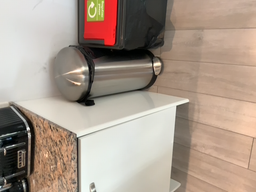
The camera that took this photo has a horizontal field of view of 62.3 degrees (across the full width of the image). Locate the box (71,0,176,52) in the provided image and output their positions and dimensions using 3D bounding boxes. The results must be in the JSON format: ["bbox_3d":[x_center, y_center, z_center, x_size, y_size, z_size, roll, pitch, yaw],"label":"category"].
[{"bbox_3d":[-0.020,-0.550,1.300,0.410,0.480,0.500,18,110,39],"label":"box"}]

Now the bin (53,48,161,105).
[{"bbox_3d":[-0.080,-0.150,1.300,0.190,0.700,0.260,14,107,40],"label":"bin"}]
